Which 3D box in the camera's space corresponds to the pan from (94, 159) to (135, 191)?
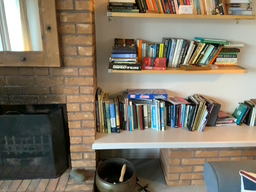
[{"bbox_3d":[-0.100,0.760,1.840,0.320,0.230,0.350,2,19,1],"label":"pan"}]
